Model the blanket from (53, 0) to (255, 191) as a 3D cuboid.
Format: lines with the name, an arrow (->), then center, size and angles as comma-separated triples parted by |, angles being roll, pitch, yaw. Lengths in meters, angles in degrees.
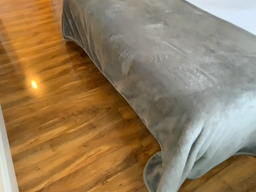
blanket -> 0.130, -0.330, 1.490 | 0.760, 0.520, 1.760 | -23, 50, -20
